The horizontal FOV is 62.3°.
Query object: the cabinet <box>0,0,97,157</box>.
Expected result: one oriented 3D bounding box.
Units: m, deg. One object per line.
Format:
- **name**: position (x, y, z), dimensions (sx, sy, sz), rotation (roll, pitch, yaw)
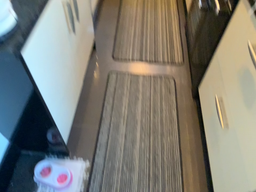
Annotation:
- **cabinet**: position (-0.480, -0.300, 1.310), dimensions (0.320, 0.910, 1.030), rotation (6, 54, 2)
